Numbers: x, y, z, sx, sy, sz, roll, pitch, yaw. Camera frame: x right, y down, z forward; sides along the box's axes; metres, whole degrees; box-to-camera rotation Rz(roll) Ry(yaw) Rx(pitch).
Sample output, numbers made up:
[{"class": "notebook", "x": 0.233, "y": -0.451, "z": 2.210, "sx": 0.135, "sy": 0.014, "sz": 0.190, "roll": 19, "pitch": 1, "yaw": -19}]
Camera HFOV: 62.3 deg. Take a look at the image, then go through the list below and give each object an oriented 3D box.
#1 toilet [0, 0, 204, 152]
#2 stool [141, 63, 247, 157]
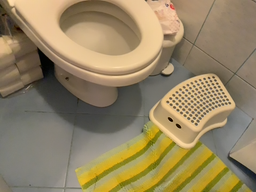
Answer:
[{"class": "toilet", "x": -0.180, "y": -0.310, "z": 0.690, "sx": 0.380, "sy": 0.810, "sz": 0.680, "roll": -39, "pitch": 70, "yaw": -25}, {"class": "stool", "x": 0.280, "y": 0.050, "z": 0.930, "sx": 0.360, "sy": 0.130, "sz": 0.240, "roll": -30, "pitch": 67, "yaw": -22}]
